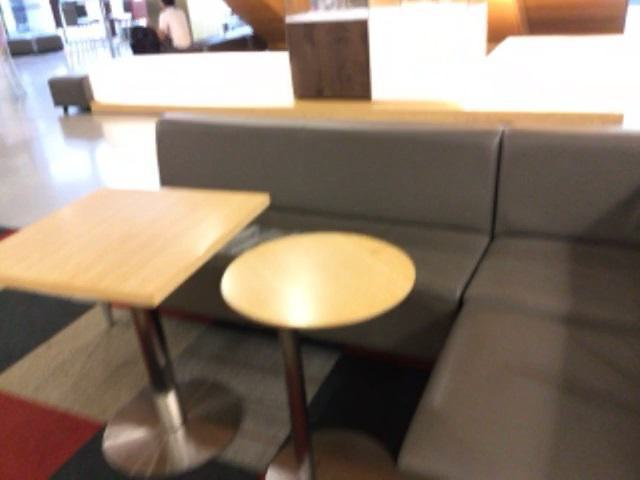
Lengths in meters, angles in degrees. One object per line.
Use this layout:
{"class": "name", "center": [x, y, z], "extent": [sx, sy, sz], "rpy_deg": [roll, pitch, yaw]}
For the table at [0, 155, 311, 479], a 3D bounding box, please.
{"class": "table", "center": [-0.490, 0.250, 1.750], "extent": [0.670, 0.810, 0.660], "rpy_deg": [6, 28, 20]}
